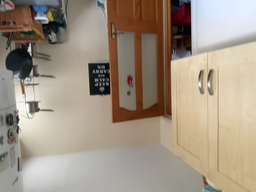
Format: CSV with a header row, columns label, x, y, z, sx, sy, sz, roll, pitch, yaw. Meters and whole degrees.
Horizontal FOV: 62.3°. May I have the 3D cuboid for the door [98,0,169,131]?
label,x,y,z,sx,sy,sz,roll,pitch,yaw
door,0.090,-0.650,2.480,0.830,1.990,0.160,-5,-175,-30
